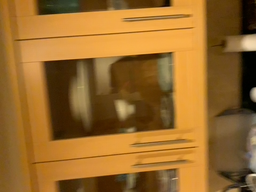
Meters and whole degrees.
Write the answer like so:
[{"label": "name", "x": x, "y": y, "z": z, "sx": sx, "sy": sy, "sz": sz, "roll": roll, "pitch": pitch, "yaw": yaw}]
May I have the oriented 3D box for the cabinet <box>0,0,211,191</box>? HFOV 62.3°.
[{"label": "cabinet", "x": -0.070, "y": 0.000, "z": 1.040, "sx": 0.360, "sy": 0.800, "sz": 1.520, "roll": -121, "pitch": 27, "yaw": -81}]
